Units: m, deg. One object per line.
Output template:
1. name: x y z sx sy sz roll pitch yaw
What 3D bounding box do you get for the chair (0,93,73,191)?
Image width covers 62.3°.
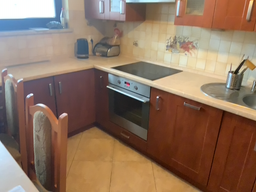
1. chair: -0.590 0.550 1.120 0.400 0.980 0.440 21 29 38
